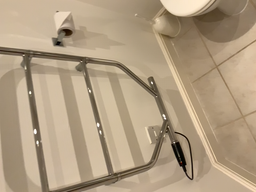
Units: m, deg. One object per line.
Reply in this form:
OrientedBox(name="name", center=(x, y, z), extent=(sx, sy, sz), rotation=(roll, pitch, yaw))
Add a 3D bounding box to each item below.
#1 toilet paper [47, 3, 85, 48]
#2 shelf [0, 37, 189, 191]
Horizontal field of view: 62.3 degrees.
OrientedBox(name="toilet paper", center=(-0.290, -0.320, 0.980), extent=(0.090, 0.120, 0.160), rotation=(-39, 61, 44))
OrientedBox(name="shelf", center=(-0.160, 0.070, 0.910), extent=(0.070, 0.940, 0.610), rotation=(-37, 63, 45))
